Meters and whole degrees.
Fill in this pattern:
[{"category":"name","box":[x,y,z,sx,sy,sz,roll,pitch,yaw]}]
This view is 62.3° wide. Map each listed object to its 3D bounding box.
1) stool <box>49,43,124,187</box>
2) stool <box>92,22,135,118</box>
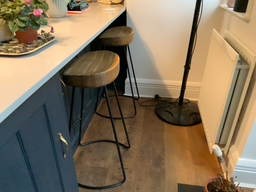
[{"category":"stool","box":[-0.200,0.120,1.360,0.280,0.790,0.440,5,30,8]},{"category":"stool","box":[-0.110,-0.250,2.000,0.280,0.780,0.430,5,30,8]}]
